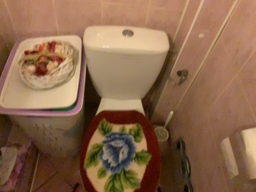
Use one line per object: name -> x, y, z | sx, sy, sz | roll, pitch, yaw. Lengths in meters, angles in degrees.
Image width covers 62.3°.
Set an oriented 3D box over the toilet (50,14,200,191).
toilet -> -0.050, 0.170, 1.050 | 0.380, 0.760, 0.740 | 4, 54, -6
